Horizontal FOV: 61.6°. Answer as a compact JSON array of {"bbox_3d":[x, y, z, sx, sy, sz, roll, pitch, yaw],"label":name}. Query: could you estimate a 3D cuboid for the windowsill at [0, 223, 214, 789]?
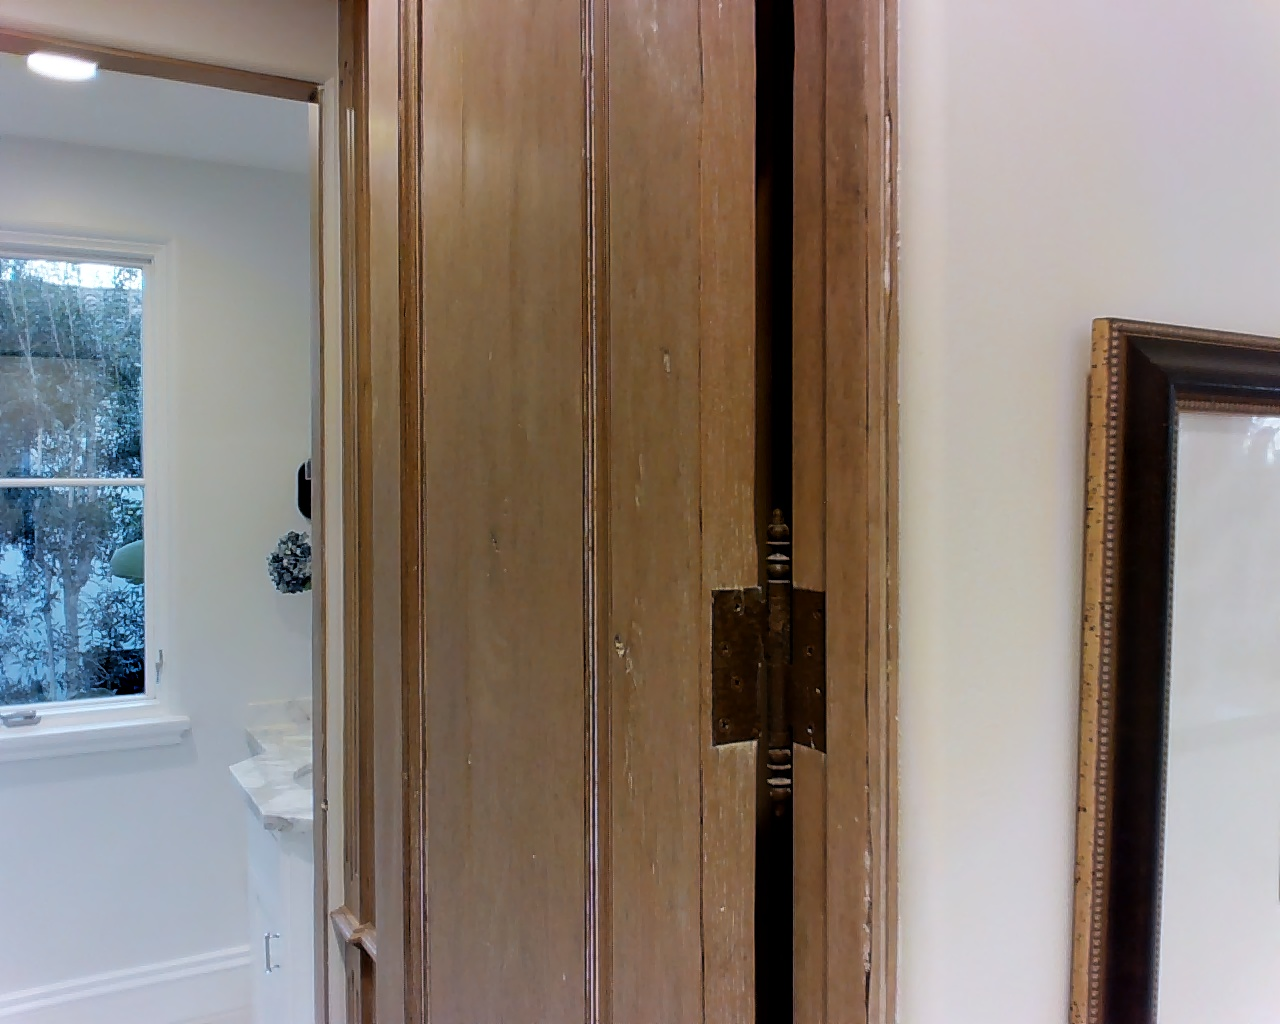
[{"bbox_3d":[-1.779,-0.020,3.230,0.880,1.631,0.180,-1,1,-29],"label":"windowsill"}]
